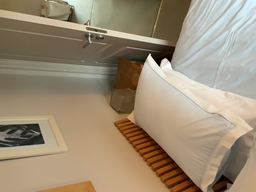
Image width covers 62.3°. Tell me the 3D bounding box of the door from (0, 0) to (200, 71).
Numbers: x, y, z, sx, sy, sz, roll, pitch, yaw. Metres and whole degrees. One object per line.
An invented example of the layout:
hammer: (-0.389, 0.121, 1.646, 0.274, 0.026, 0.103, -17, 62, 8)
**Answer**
door: (-0.520, -0.400, 1.740, 0.990, 2.180, 0.110, -7, 85, 55)

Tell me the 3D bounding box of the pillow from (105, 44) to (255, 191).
pillow: (0.230, 0.060, 1.210, 0.790, 0.320, 0.490, 40, 122, 48)
